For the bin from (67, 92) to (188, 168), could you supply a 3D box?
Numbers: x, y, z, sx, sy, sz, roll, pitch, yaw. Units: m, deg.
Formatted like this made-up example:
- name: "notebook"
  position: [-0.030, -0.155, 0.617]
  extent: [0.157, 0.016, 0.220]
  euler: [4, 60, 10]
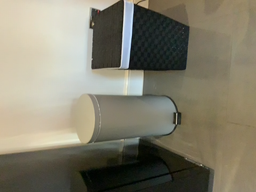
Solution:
- name: "bin"
  position: [-0.010, 0.170, 1.430]
  extent: [0.480, 0.640, 0.350]
  euler: [8, 95, 54]

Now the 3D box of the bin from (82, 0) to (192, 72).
- name: "bin"
  position: [0.050, -0.380, 1.430]
  extent: [0.460, 0.550, 0.390]
  euler: [9, 96, 54]
